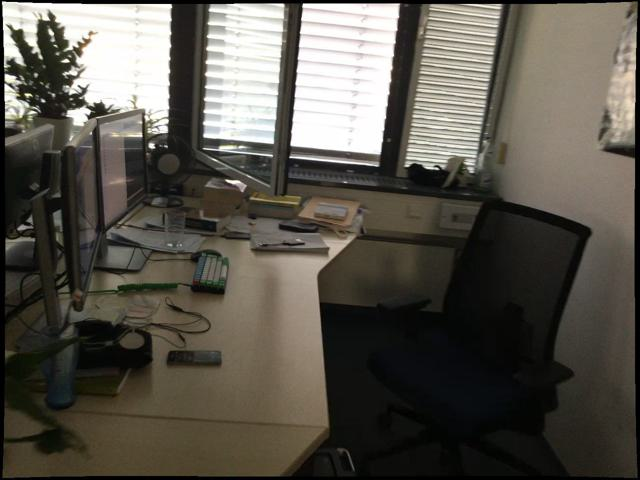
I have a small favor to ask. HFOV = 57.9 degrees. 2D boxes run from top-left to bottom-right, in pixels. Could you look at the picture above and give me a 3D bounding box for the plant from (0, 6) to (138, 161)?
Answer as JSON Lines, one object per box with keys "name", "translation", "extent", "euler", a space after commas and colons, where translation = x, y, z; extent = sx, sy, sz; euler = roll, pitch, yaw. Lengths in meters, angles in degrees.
{"name": "plant", "translation": [-1.419, -0.831, 3.050], "extent": [0.739, 0.701, 0.530], "euler": [3, 18, -2]}
